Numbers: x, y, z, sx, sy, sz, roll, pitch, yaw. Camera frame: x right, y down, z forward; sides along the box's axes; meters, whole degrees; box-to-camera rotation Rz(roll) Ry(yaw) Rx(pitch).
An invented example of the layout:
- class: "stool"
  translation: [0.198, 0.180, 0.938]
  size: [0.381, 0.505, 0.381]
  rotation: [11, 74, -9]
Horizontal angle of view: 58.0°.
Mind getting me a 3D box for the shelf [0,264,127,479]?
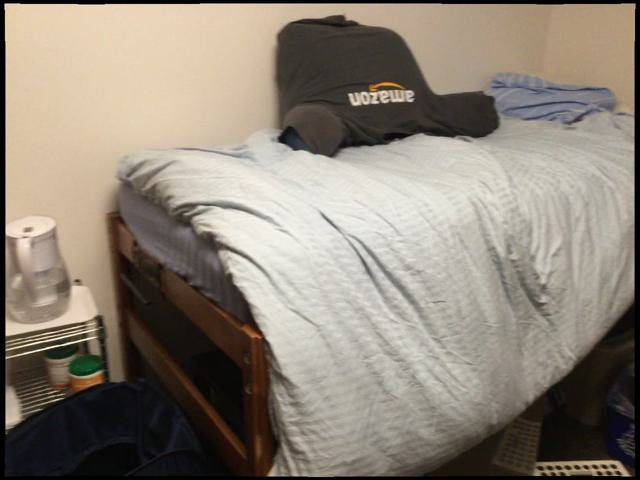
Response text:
- class: "shelf"
  translation: [-0.938, 0.521, 1.600]
  size: [0.629, 0.701, 0.410]
  rotation: [-13, 24, -34]
